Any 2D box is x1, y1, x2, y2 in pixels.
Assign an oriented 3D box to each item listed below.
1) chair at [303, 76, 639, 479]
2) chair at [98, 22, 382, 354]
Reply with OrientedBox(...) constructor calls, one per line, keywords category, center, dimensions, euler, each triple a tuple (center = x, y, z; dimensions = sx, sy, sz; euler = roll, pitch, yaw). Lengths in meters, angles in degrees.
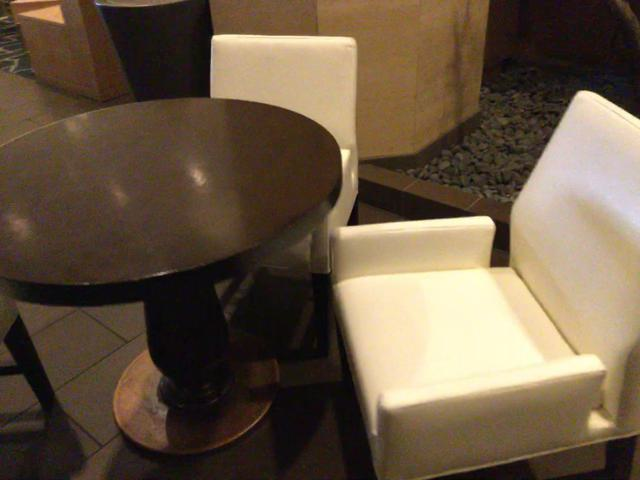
OrientedBox(category="chair", center=(0.390, 0.140, 1.310), dimensions=(0.730, 0.820, 0.660), euler=(-7, 27, -5))
OrientedBox(category="chair", center=(-0.160, -0.190, 1.870), dimensions=(0.580, 0.840, 0.680), euler=(-1, 26, 14))
